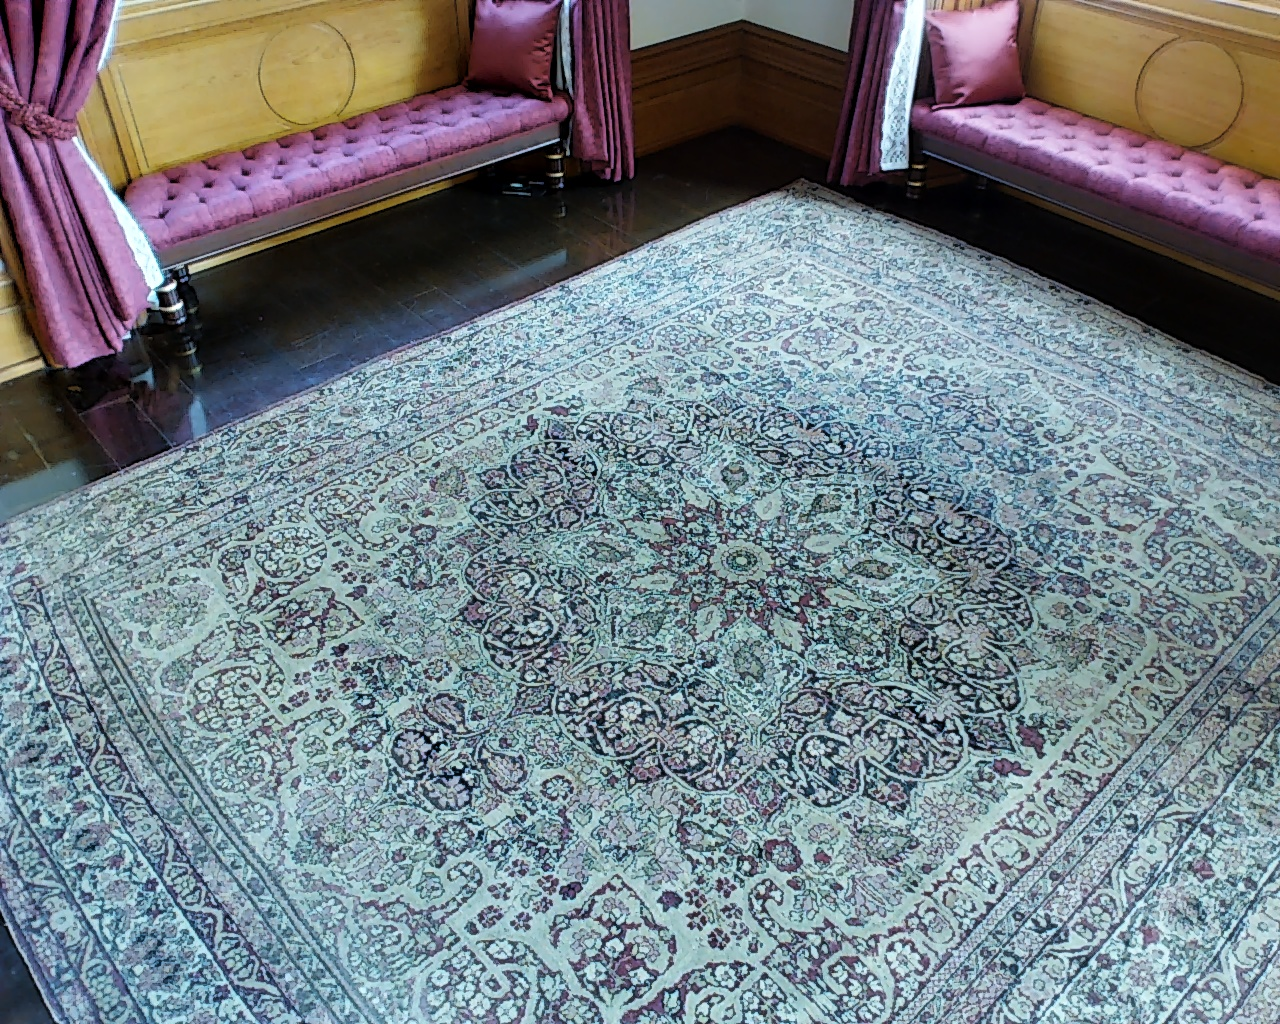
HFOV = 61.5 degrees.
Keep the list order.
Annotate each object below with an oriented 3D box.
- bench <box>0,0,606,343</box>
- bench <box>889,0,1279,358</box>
[{"bbox_3d":[-0.890,-1.220,3.200,1.530,0.780,0.560,-28,49,-27],"label":"bench"},{"bbox_3d":[1.500,-1.170,3.020,0.520,0.890,1.480,-28,49,-27],"label":"bench"}]
